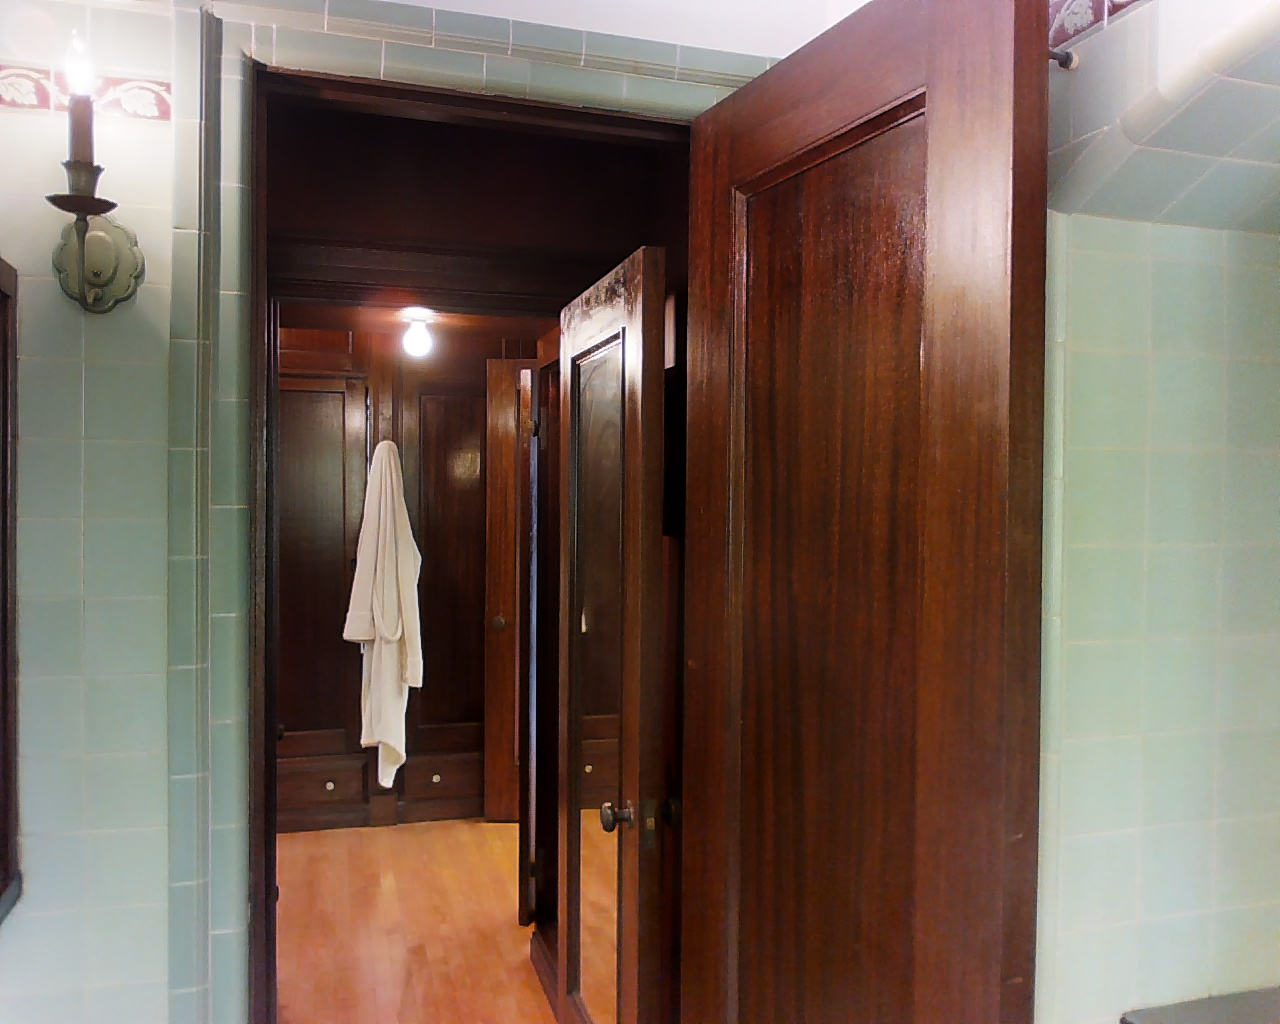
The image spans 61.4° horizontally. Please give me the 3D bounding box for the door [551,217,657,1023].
[{"bbox_3d":[-0.100,0.470,2.400,0.040,2.050,0.790,0,1,-16],"label":"door"}]

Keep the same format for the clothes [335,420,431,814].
[{"bbox_3d":[-1.130,0.440,4.720,0.390,1.650,0.340,0,1,-16],"label":"clothes"}]

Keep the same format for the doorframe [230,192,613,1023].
[{"bbox_3d":[-0.520,0.370,2.640,0.900,2.200,0.080,0,1,-16],"label":"doorframe"}]

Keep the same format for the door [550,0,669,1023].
[{"bbox_3d":[-0.090,0.190,2.380,0.060,2.600,0.790,0,1,-16],"label":"door"}]

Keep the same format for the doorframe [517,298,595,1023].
[{"bbox_3d":[-0.260,0.460,3.150,0.060,2.020,0.810,0,1,-16],"label":"doorframe"}]
